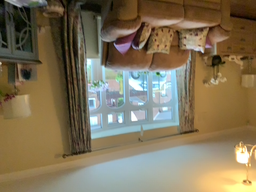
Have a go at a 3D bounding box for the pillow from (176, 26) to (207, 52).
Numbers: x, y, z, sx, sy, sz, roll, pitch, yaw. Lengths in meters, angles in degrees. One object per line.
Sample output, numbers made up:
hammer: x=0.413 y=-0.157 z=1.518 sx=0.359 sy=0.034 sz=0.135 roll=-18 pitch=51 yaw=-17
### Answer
pillow: x=0.890 y=-0.800 z=3.010 sx=0.400 sy=0.270 sz=0.390 roll=-1 pitch=-174 yaw=15

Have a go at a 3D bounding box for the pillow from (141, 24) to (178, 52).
pillow: x=0.440 y=-0.800 z=2.950 sx=0.410 sy=0.320 sz=0.190 roll=-6 pitch=-148 yaw=-33
